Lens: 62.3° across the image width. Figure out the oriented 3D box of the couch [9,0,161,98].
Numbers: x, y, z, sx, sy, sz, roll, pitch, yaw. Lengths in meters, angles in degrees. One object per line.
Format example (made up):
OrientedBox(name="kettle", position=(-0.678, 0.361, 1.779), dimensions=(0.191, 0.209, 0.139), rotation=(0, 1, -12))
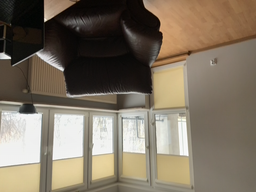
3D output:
OrientedBox(name="couch", position=(-0.280, -0.530, 2.070), dimensions=(1.150, 0.940, 0.950), rotation=(-3, 171, 8))
